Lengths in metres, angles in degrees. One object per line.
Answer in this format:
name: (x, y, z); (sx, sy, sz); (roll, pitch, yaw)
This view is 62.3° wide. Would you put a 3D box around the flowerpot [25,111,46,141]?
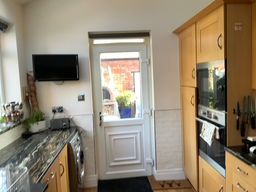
flowerpot: (-1.230, 0.390, 2.820); (0.230, 0.330, 0.220); (-5, 6, -24)
